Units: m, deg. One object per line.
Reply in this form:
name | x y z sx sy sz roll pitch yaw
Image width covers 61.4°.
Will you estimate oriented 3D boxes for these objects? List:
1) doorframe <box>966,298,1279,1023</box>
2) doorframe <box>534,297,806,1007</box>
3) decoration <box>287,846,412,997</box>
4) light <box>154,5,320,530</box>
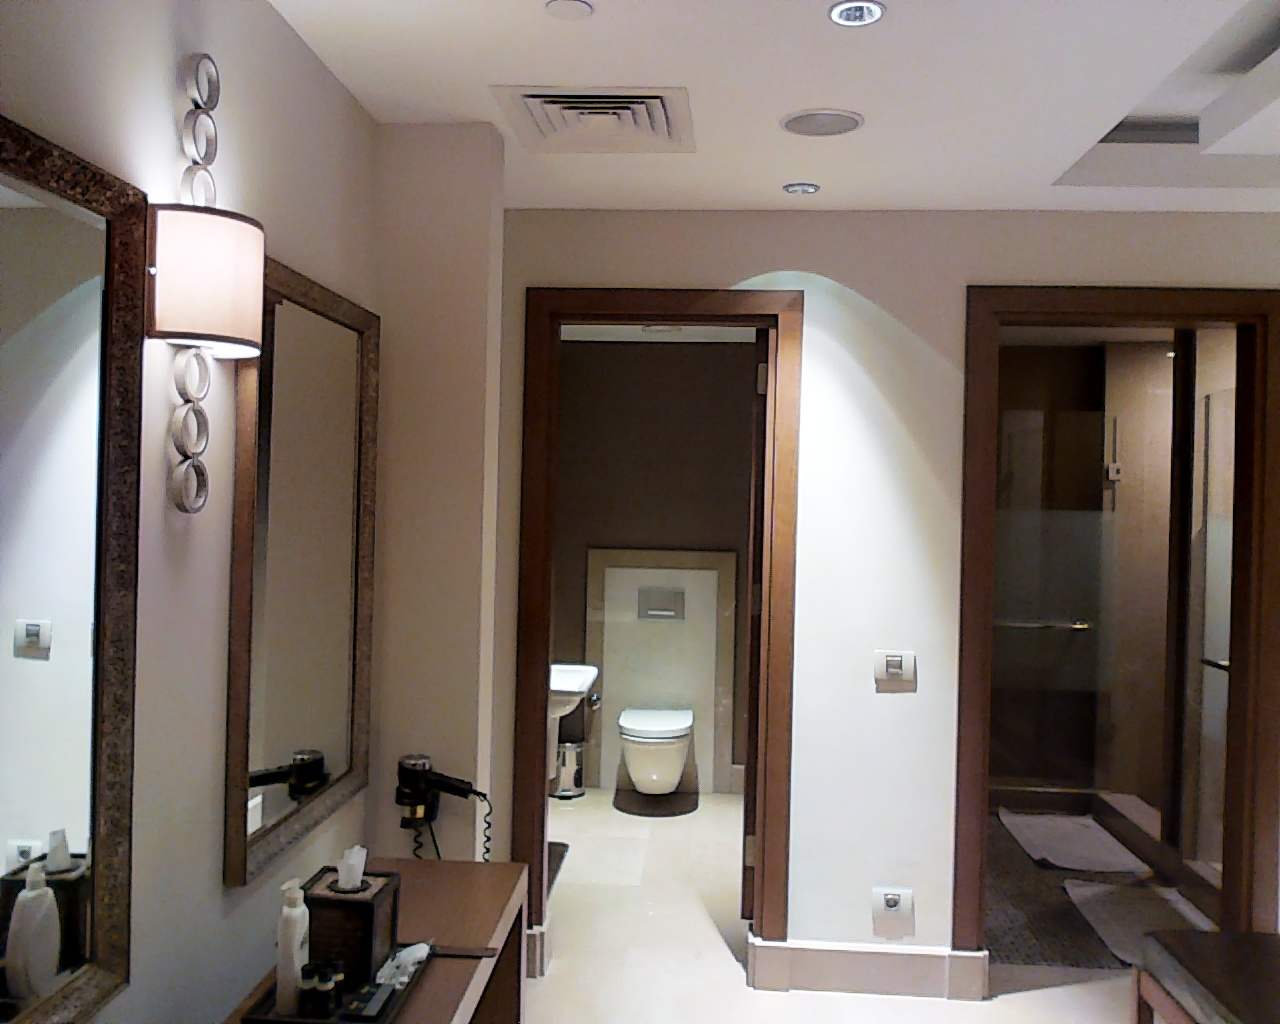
doorframe | 1.550 0.470 3.440 0.910 2.270 0.170 1 0 5
doorframe | 0.100 0.440 3.570 0.830 2.260 0.200 1 0 5
decoration | -0.490 0.690 1.830 0.160 0.190 0.150 1 0 5
light | -0.650 -0.370 1.760 0.140 0.790 0.260 1 0 6
